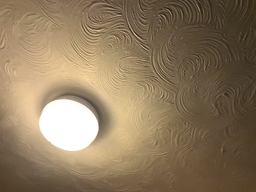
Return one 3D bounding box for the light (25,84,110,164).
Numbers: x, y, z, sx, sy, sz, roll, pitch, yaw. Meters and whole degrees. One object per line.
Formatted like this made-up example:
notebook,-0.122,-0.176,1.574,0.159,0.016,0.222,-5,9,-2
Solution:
light,-0.220,0.110,0.770,0.220,0.070,0.220,33,121,-10
